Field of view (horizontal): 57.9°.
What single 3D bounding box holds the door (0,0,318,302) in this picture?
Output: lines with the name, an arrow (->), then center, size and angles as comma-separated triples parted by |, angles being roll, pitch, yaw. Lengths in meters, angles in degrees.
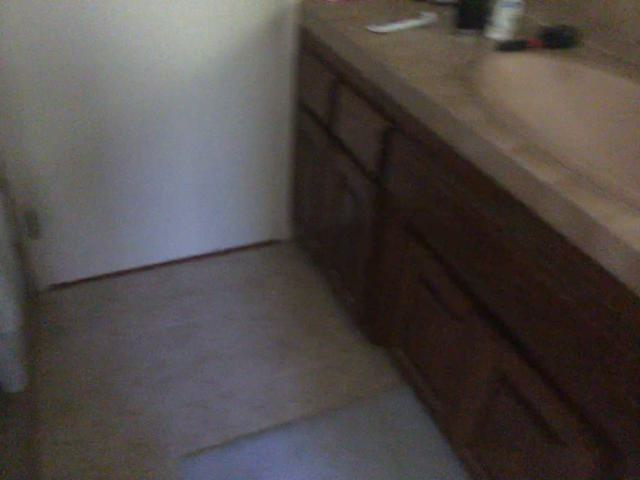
door -> -0.460, -0.360, 1.590 | 0.900, 1.100, 0.080 | -9, 37, -22
